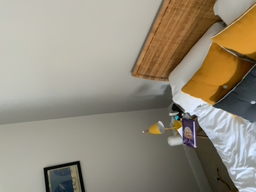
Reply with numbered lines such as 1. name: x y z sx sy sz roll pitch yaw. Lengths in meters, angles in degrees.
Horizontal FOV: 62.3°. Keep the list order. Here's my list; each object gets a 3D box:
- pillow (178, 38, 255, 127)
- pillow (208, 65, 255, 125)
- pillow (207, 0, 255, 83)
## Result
1. pillow: 0.640 -0.060 1.370 0.390 0.470 0.180 -45 25 38
2. pillow: 0.760 -0.050 1.190 0.560 0.250 0.090 -47 26 40
3. pillow: 0.740 -0.290 1.060 0.400 0.490 0.200 -44 28 42
